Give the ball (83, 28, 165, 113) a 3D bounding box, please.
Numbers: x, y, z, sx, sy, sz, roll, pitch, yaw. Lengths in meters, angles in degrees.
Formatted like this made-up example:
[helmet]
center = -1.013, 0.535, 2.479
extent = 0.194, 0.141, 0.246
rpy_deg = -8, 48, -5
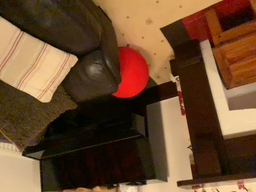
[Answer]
[ball]
center = -0.030, -0.190, 1.910
extent = 0.460, 0.430, 0.540
rpy_deg = -24, 145, 34
